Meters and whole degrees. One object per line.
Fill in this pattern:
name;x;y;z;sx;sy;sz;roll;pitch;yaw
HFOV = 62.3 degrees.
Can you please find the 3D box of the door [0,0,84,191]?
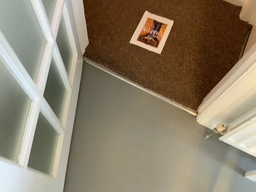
door;-0.240;-0.360;0.290;0.040;2.040;0.940;3;65;-4
